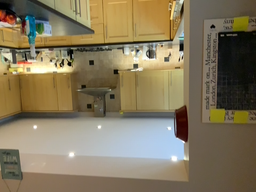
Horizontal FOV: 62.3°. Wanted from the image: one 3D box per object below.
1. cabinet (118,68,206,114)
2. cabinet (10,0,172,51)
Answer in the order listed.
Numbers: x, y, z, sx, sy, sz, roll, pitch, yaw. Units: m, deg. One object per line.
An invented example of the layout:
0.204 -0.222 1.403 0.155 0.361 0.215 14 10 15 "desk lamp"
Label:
0.610 -0.100 3.930 1.520 0.800 0.350 0 -172 9 "cabinet"
-0.620 -1.350 3.800 2.740 0.910 0.630 0 -172 9 "cabinet"
